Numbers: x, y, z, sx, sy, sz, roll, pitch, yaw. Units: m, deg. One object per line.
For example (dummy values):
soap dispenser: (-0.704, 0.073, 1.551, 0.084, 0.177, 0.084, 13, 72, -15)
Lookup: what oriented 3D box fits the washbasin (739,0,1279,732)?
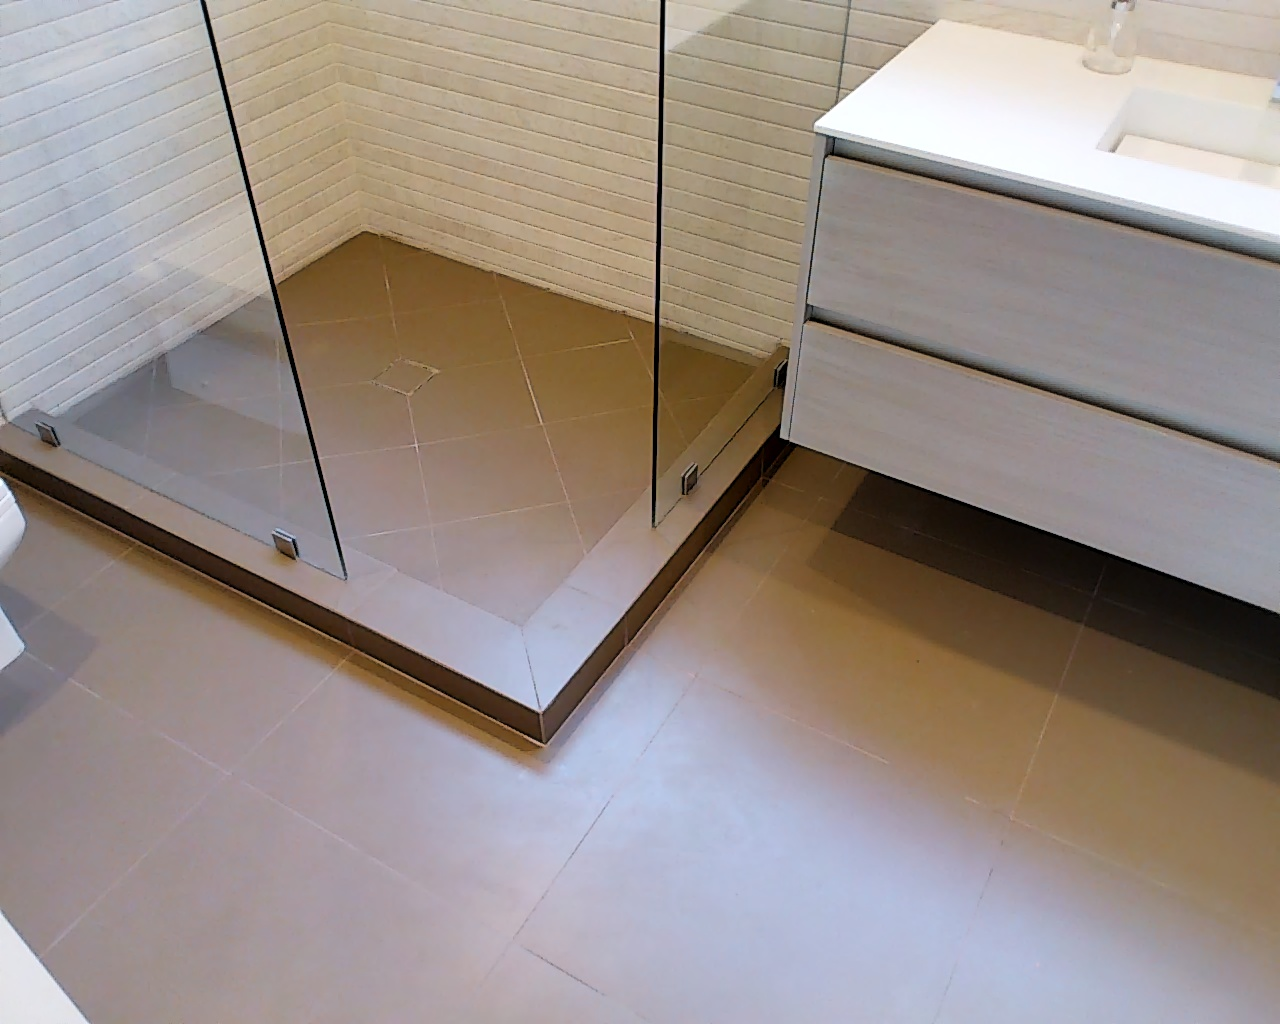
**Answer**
washbasin: (0.920, -0.300, 1.930, 1.280, 0.990, 0.610, 22, 47, 22)
